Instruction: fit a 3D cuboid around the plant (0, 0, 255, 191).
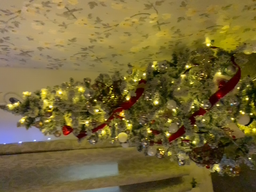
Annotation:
[{"bbox_3d":[0.010,0.100,1.380,0.710,1.890,0.820,136,132,-61],"label":"plant"}]
